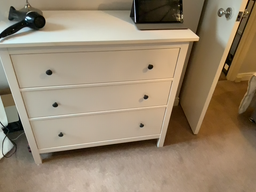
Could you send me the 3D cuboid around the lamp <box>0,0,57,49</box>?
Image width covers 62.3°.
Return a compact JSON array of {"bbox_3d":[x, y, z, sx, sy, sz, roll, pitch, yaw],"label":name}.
[{"bbox_3d":[-0.600,-0.620,1.100,0.290,0.630,0.310,-16,43,-24],"label":"lamp"}]
